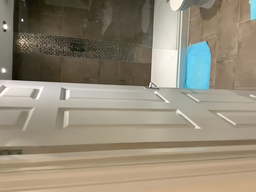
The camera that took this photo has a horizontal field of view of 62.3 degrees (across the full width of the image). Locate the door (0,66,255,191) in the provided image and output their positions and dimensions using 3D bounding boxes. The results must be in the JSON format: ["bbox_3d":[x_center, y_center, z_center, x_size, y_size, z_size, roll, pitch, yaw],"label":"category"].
[{"bbox_3d":[0.190,0.080,1.190,1.040,2.090,0.140,-127,42,-65],"label":"door"}]
